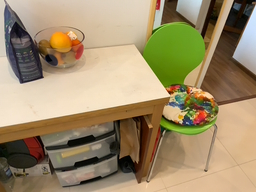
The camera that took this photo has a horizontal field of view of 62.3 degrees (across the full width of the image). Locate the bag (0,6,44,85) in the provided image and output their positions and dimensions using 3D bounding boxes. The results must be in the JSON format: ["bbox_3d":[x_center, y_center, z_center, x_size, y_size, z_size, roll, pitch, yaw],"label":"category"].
[{"bbox_3d":[-0.480,-0.230,0.950,0.150,0.250,0.240,-8,44,-16],"label":"bag"}]

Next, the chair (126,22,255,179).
[{"bbox_3d":[0.330,0.040,1.410,0.470,0.850,0.530,-9,44,-17],"label":"chair"}]
